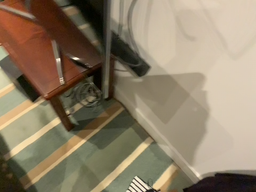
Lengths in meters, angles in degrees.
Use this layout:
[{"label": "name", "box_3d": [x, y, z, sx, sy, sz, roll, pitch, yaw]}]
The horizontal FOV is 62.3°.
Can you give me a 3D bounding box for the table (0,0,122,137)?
[{"label": "table", "box_3d": [-0.420, -0.200, 1.230, 0.420, 0.530, 0.620, -37, 74, -21]}]
